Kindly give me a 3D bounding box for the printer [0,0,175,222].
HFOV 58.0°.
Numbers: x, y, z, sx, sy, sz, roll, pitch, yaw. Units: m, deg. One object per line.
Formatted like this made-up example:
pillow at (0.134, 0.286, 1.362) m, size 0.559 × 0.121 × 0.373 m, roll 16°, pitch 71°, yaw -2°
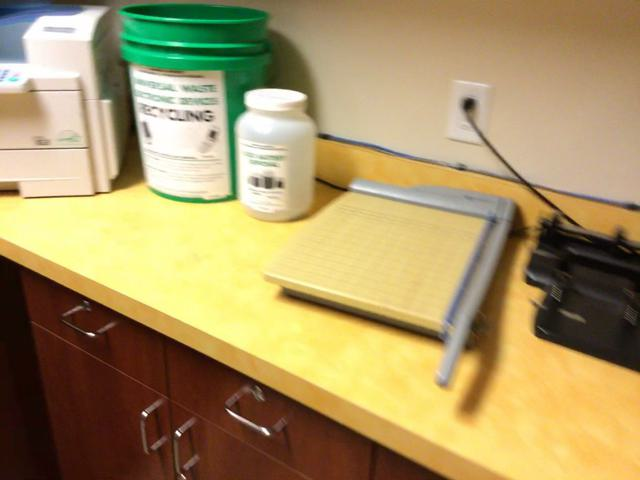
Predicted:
printer at (-0.680, -0.360, 1.270) m, size 0.560 × 0.410 × 0.590 m, roll 4°, pitch 24°, yaw 0°
